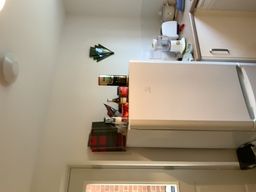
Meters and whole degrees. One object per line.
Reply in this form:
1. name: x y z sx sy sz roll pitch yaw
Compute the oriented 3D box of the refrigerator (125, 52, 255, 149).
1. refrigerator: 0.730 0.080 1.900 0.650 1.490 0.620 97 174 -63
